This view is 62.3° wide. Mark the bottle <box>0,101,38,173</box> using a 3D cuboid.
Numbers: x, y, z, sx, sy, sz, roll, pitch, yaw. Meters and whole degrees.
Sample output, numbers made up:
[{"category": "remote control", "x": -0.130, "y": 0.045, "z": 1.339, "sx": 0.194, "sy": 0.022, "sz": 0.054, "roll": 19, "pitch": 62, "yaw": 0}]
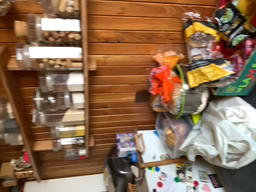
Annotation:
[{"category": "bottle", "x": -0.660, "y": 0.270, "z": 1.230, "sx": 0.610, "sy": 0.150, "sz": 0.080, "roll": 100, "pitch": 163, "yaw": -45}]

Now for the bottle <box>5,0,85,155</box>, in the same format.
[{"category": "bottle", "x": -0.310, "y": -0.130, "z": 0.910, "sx": 1.280, "sy": 0.220, "sz": 0.120, "roll": 100, "pitch": 163, "yaw": -45}]
